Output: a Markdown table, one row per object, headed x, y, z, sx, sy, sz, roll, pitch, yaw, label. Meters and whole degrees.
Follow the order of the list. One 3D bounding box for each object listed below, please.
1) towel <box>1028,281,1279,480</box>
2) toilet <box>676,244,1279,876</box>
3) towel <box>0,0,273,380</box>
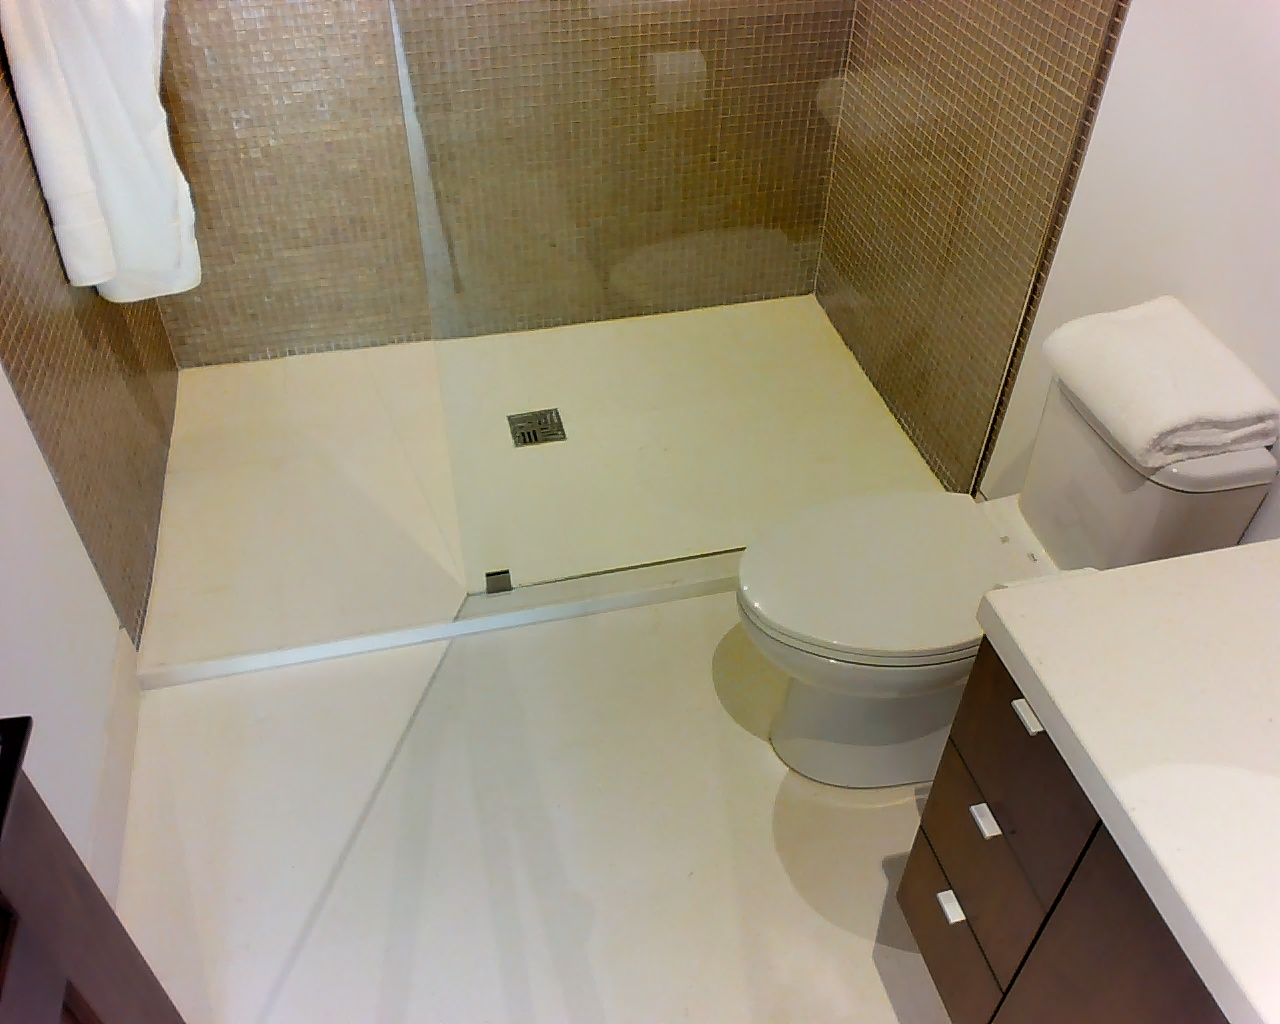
| x | y | z | sx | sy | sz | roll | pitch | yaw | label |
| --- | --- | --- | --- | --- | --- | --- | --- | --- | --- |
| 0.760 | -0.200 | 1.560 | 0.240 | 0.110 | 0.300 | -8 | 43 | -9 | towel |
| 0.500 | 0.100 | 1.730 | 0.780 | 0.870 | 0.420 | -8 | 43 | -10 | toilet |
| -0.920 | -0.670 | 1.970 | 0.280 | 0.820 | 0.260 | -7 | 43 | -8 | towel |
